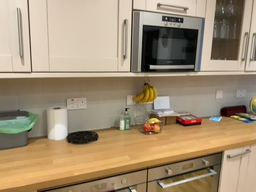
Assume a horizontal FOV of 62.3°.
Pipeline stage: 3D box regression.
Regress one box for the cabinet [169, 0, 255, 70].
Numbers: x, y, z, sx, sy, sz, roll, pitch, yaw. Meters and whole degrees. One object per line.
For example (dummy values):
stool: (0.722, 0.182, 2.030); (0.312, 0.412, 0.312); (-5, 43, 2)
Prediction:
cabinet: (0.920, -0.620, 1.980); (1.010, 0.720, 0.330); (-3, 12, -25)
